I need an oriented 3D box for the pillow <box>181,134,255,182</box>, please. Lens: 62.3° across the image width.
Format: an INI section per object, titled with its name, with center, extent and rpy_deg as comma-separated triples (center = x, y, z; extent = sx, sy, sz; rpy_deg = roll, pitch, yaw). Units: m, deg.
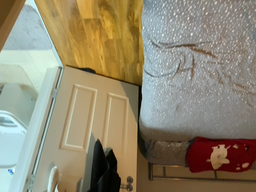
[pillow]
center = 0.870, 0.570, 2.030
extent = 0.690, 0.490, 0.220
rpy_deg = 6, 91, 14
